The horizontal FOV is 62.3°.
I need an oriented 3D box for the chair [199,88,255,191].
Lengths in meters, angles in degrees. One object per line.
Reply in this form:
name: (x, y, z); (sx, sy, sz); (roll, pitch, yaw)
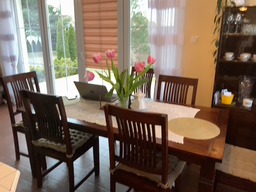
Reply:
chair: (1.010, 0.500, 1.760); (0.580, 0.960, 0.560); (13, 21, 34)

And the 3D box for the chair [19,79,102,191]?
chair: (-0.600, 0.380, 2.050); (0.460, 0.960, 0.520); (9, 19, 24)

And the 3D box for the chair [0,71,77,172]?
chair: (-1.010, 0.250, 2.470); (0.550, 0.950, 0.510); (11, 20, 29)

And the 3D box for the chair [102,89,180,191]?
chair: (0.120, 0.490, 1.740); (0.460, 0.960, 0.520); (7, 18, 19)
